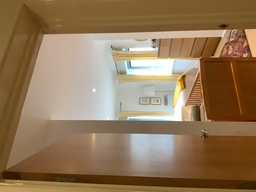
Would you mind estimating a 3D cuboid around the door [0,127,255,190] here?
[{"bbox_3d":[0.510,0.310,1.270,1.010,2.160,0.140,45,-135,-83],"label":"door"}]
